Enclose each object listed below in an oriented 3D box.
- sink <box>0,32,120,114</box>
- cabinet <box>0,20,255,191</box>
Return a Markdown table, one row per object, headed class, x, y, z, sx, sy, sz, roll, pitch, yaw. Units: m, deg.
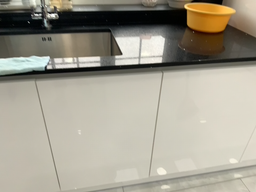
| class | x | y | z | sx | sy | sz | roll | pitch | yaw |
| --- | --- | --- | --- | --- | --- | --- | --- | --- | --- |
| sink | -0.390 | -0.140 | 1.070 | 0.640 | 0.250 | 0.350 | -5 | 34 | -12 |
| cabinet | 0.200 | 0.060 | 1.380 | 2.270 | 0.890 | 0.650 | -5 | 34 | -12 |
